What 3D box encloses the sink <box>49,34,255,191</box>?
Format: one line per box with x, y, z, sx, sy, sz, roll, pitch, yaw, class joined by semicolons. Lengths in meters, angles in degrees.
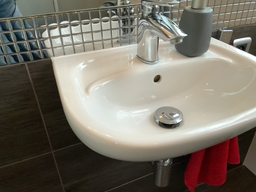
0.100;0.010;0.500;0.480;0.150;0.360;-14;36;-19;sink

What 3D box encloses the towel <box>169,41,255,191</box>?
0.360;0.200;0.880;0.260;0.790;0.160;-15;36;-21;towel
